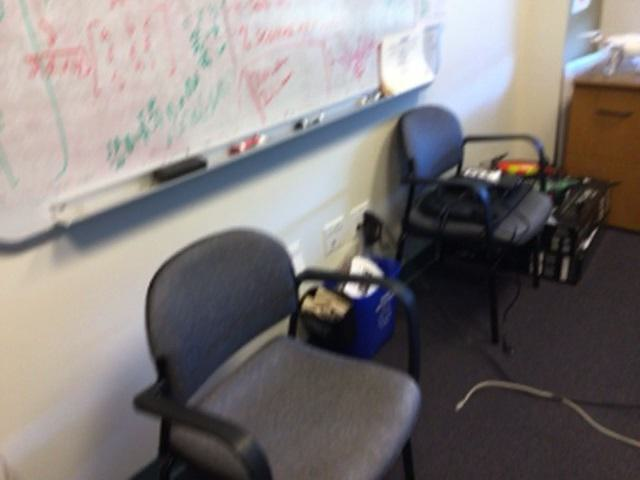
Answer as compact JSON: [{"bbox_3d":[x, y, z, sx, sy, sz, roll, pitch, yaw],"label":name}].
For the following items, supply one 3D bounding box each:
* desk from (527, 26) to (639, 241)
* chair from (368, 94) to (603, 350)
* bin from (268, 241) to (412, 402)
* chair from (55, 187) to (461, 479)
[{"bbox_3d":[1.560,-0.480,2.580,1.020,0.820,0.580,15,34,37],"label":"desk"},{"bbox_3d":[0.600,-0.110,2.130,0.620,0.710,0.490,15,34,37],"label":"chair"},{"bbox_3d":[0.090,0.270,2.070,0.260,0.330,0.460,15,34,37],"label":"bin"},{"bbox_3d":[-0.070,0.370,1.270,0.540,0.750,0.560,15,34,37],"label":"chair"}]
